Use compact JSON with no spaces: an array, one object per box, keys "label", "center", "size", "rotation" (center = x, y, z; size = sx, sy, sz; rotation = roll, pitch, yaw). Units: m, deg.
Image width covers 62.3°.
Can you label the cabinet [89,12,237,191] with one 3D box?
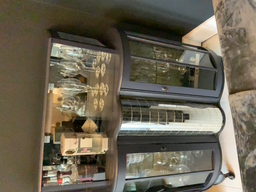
[{"label":"cabinet","center":[0.240,0.120,1.340],"size":[0.360,0.830,0.980],"rotation":[-3,84,63]}]

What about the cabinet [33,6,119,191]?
[{"label":"cabinet","center":[-0.280,0.080,1.100],"size":[0.320,0.310,0.910],"rotation":[-3,84,63]}]
